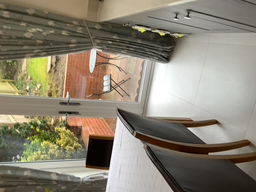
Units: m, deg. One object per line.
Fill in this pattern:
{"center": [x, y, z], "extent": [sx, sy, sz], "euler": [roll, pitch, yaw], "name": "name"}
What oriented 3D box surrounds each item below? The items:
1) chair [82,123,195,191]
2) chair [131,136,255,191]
{"center": [0.070, 0.600, 2.090], "extent": [0.570, 0.900, 0.470], "euler": [-144, 61, -64], "name": "chair"}
{"center": [0.500, 0.550, 1.110], "extent": [0.390, 0.880, 0.540], "euler": [-134, 52, -60], "name": "chair"}
